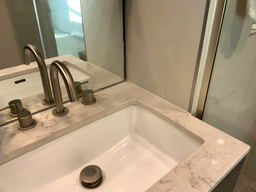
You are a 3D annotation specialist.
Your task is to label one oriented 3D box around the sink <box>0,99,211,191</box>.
[{"bbox_3d":[-0.060,0.210,0.550,0.490,0.160,0.280,-23,37,-34],"label":"sink"}]
